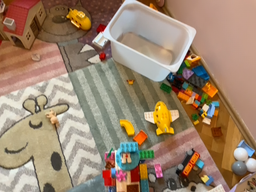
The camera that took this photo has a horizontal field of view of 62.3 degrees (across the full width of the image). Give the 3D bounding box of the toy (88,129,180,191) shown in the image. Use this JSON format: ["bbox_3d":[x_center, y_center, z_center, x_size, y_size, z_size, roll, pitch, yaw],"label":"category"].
[{"bbox_3d":[0.010,0.330,0.890,0.250,0.270,0.230,-29,75,-16],"label":"toy"}]

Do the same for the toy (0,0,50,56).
[{"bbox_3d":[-0.720,-0.490,1.120,0.430,0.360,0.320,12,68,-1],"label":"toy"}]
